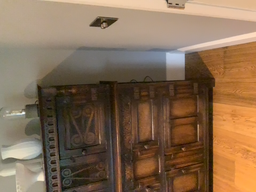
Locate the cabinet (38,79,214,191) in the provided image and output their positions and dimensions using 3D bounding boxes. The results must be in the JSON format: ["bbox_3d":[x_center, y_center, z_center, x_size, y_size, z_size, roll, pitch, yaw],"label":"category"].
[{"bbox_3d":[0.040,0.570,1.840,0.440,1.430,1.380,-173,80,-66],"label":"cabinet"}]
